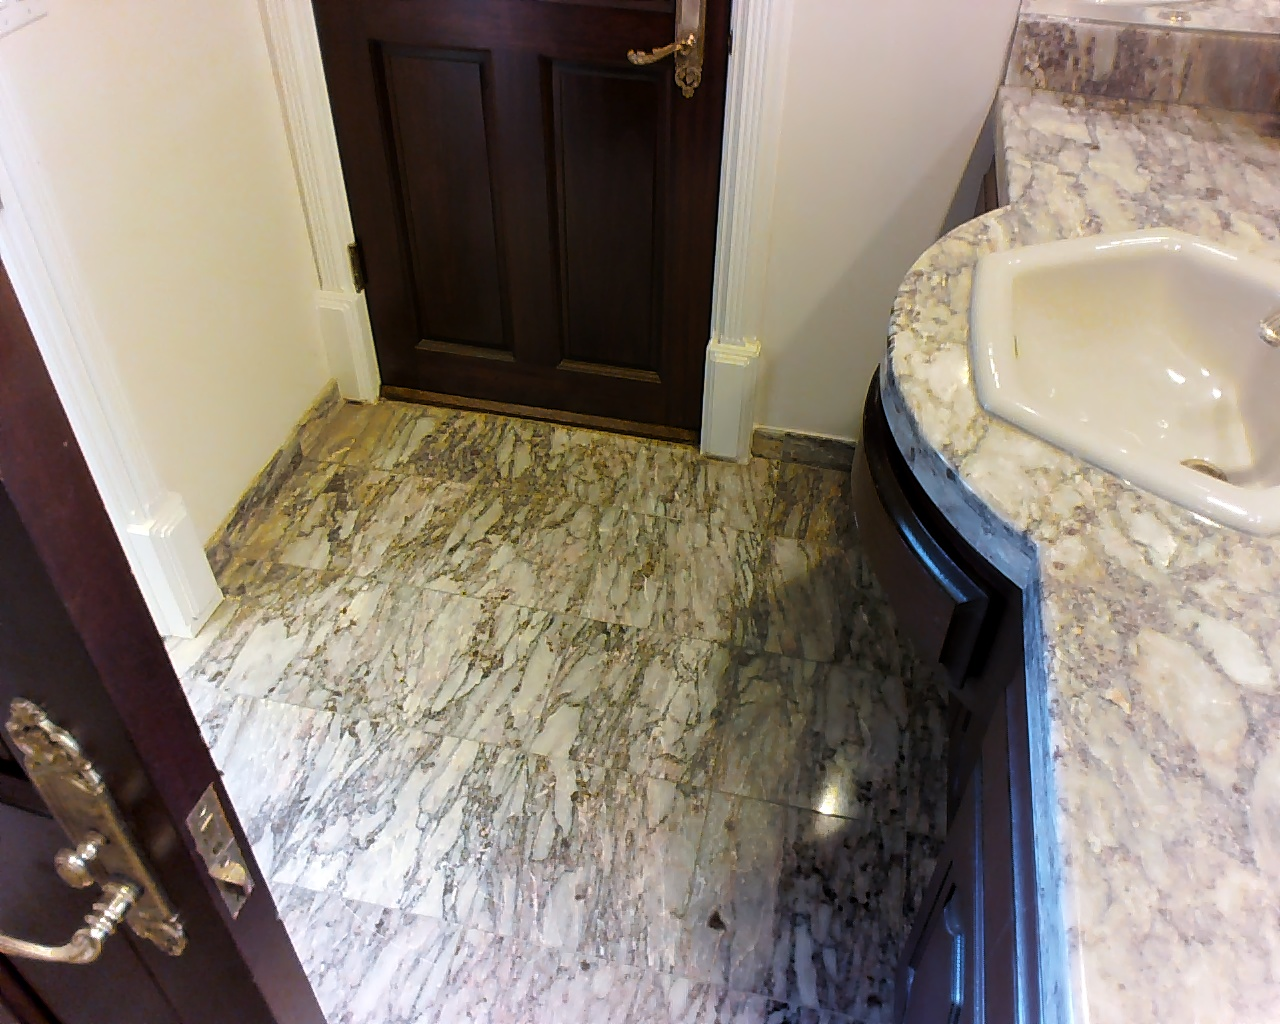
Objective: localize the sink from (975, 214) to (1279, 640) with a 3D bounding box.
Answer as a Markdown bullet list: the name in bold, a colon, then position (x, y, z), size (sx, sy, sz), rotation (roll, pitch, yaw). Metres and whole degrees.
- **sink**: position (0.570, -0.120, 1.190), size (0.330, 0.180, 0.500), rotation (8, 42, 8)
